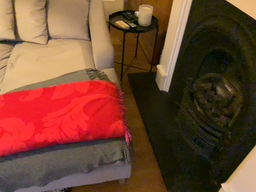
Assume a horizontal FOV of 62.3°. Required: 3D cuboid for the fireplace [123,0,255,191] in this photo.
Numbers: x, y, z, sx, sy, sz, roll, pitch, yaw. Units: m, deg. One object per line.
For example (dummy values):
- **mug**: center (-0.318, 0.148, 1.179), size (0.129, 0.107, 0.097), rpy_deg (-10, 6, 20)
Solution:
- **fireplace**: center (0.450, -0.130, 1.230), size (0.590, 1.170, 1.630), rpy_deg (-5, 43, -12)
